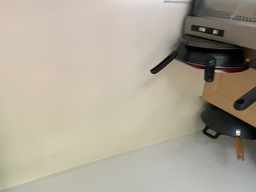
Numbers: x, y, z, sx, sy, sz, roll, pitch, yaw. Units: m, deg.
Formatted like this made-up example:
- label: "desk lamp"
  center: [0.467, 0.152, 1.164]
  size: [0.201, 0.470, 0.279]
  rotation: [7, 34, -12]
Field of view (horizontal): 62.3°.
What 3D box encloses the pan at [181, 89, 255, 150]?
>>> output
- label: "pan"
  center: [0.560, 0.110, 1.220]
  size: [0.370, 0.130, 0.320]
  rotation: [-13, -152, -29]
